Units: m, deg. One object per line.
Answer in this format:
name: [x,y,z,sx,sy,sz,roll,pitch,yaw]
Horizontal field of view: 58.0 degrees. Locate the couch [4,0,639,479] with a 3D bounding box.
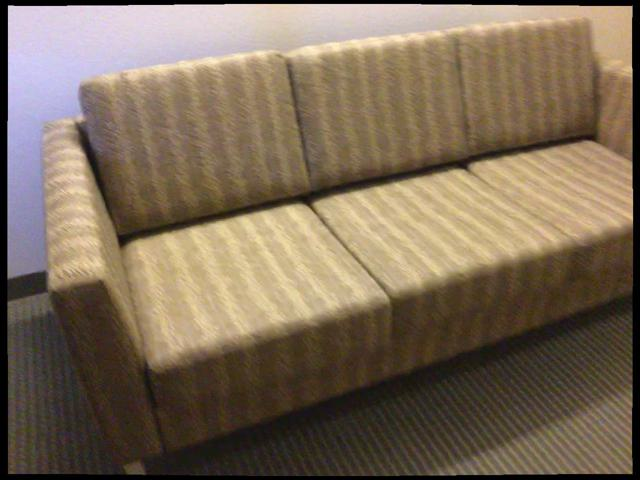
couch: [0.250,-0.150,1.830,2.017,0.821,1.010,-14,37,-18]
